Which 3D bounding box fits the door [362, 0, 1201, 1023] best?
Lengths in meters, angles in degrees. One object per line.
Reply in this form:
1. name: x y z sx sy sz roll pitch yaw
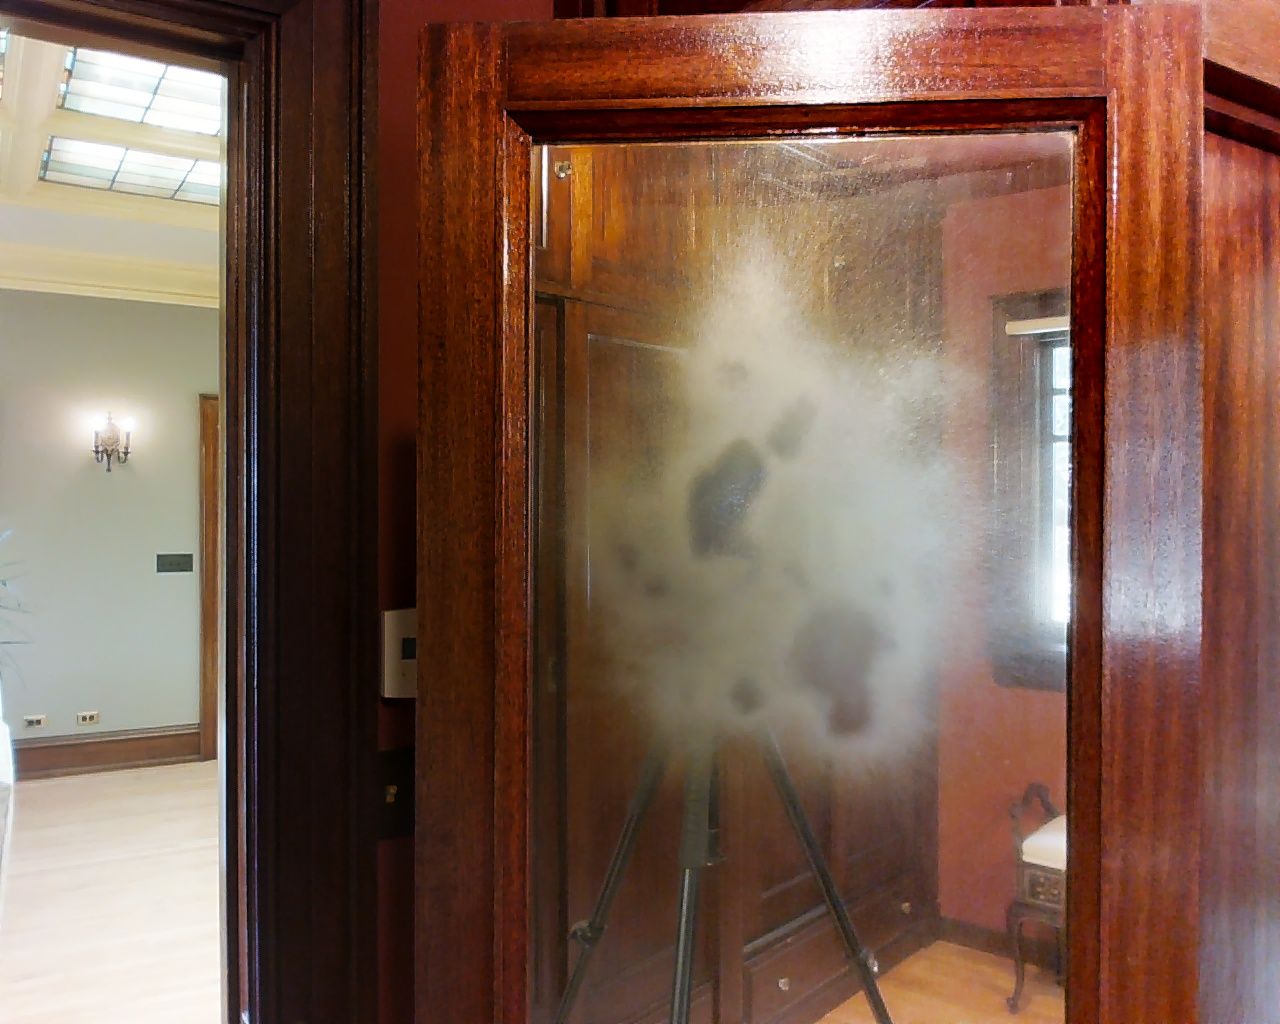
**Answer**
1. door: 0.080 0.570 0.760 0.540 1.900 0.100 1 0 7
